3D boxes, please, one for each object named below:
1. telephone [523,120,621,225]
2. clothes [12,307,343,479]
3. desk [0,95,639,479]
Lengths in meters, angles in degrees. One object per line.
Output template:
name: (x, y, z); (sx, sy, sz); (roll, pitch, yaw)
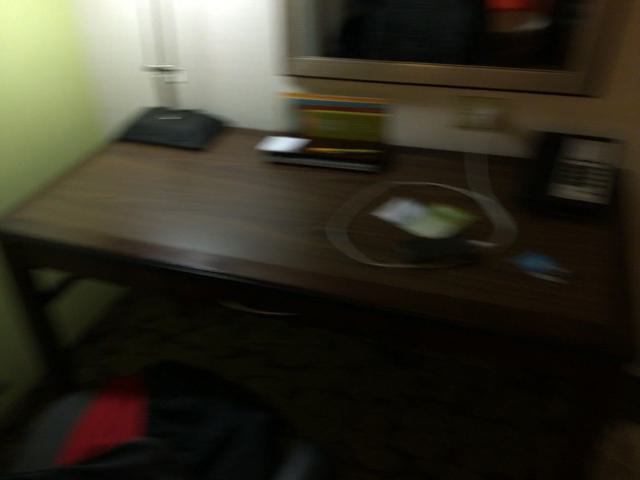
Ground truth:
telephone: (0.520, -0.150, 1.220); (0.150, 0.110, 0.240); (5, 36, 13)
clothes: (-0.220, 0.430, 1.090); (0.410, 0.340, 0.450); (7, 37, 16)
desk: (-0.080, 0.170, 1.500); (1.420, 0.820, 0.650); (7, 37, 16)
